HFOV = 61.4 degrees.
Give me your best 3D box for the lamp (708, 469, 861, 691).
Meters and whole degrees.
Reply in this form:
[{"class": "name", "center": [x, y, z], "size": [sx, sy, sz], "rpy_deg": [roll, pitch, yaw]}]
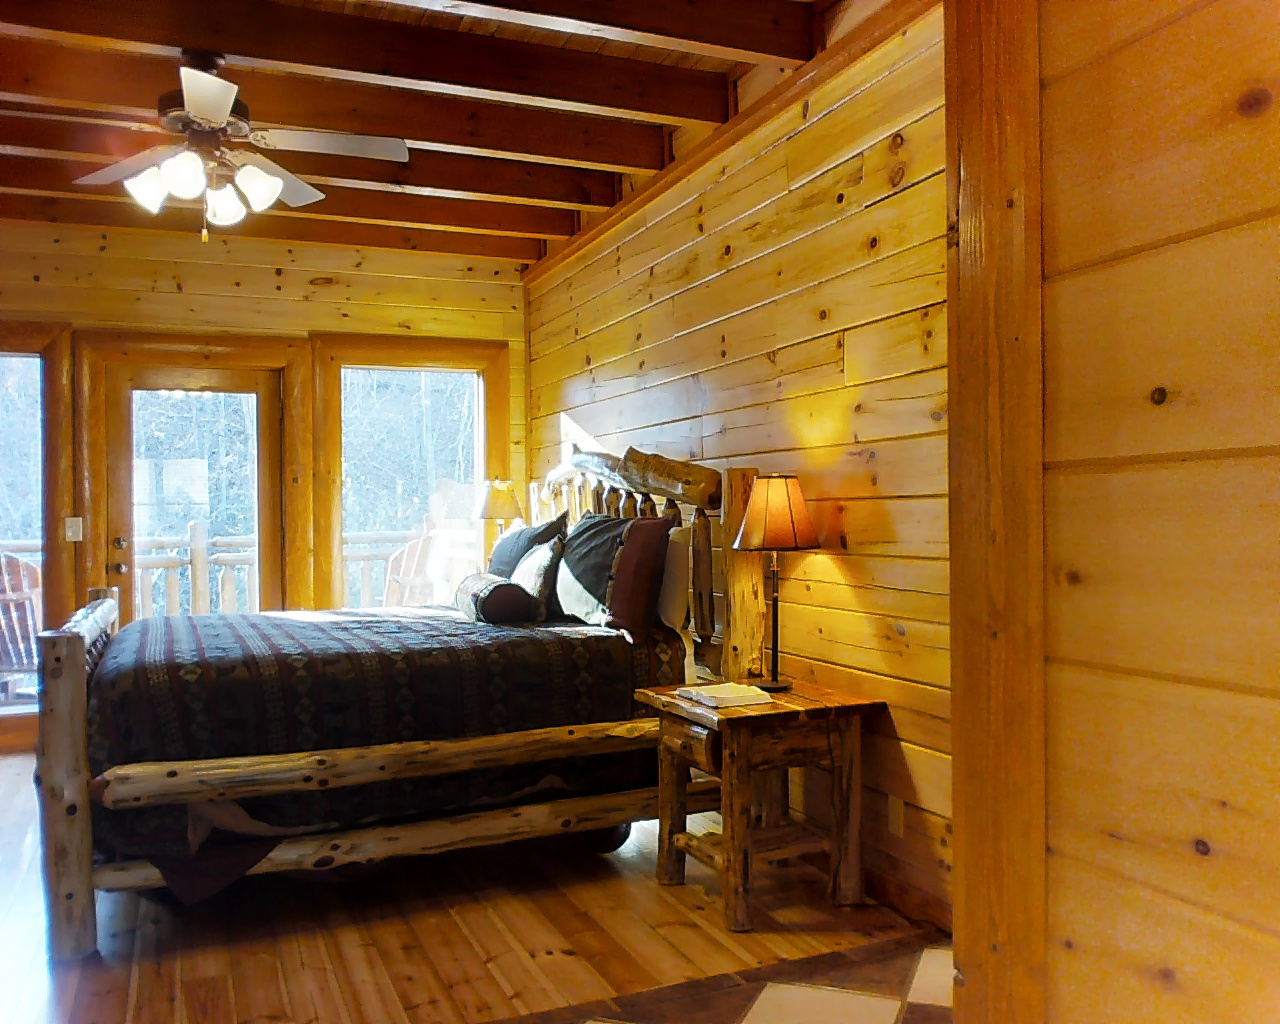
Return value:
[{"class": "lamp", "center": [0.470, 0.210, 3.540], "size": [0.370, 0.680, 0.300], "rpy_deg": [-2, 0, -22]}]
